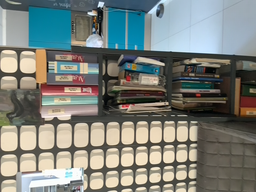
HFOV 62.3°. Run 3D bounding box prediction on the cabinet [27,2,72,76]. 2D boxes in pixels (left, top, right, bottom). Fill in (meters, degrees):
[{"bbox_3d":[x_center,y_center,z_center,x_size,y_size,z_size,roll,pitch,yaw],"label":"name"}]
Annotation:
[{"bbox_3d":[-1.440,-1.000,3.940,0.330,0.750,1.230,-168,79,-73],"label":"cabinet"}]
